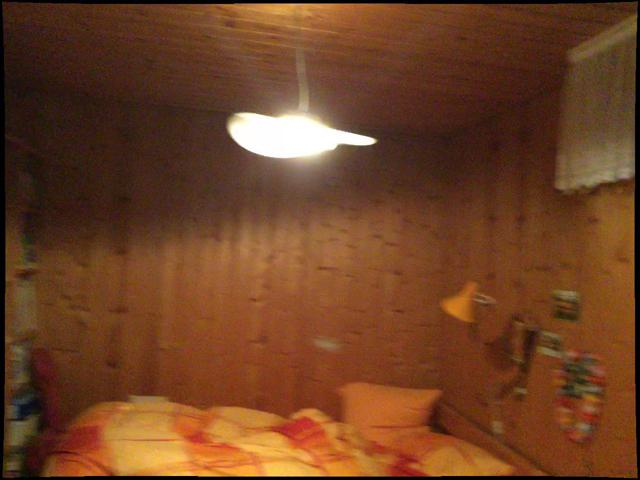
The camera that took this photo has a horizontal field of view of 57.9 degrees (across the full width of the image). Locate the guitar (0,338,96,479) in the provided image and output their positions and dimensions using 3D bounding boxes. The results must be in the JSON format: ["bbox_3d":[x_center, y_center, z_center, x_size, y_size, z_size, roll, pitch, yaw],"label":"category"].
[{"bbox_3d":[-1.568,1.081,3.290,0.390,0.961,0.430,4,0,-8],"label":"guitar"}]

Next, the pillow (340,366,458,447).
[{"bbox_3d":[0.470,1.011,3.550,0.599,0.350,0.440,4,0,-8],"label":"pillow"}]

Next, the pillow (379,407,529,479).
[{"bbox_3d":[0.659,1.081,3.040,0.510,0.160,0.790,4,0,-8],"label":"pillow"}]
